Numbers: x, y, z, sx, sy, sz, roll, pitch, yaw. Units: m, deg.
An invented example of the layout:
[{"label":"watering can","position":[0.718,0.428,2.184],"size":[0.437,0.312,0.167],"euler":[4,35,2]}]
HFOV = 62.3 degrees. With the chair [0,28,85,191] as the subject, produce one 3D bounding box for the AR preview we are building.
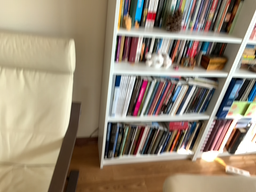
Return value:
[{"label":"chair","position":[-0.630,0.280,1.050],"size":[0.680,0.980,0.810],"euler":[6,32,-5]}]
